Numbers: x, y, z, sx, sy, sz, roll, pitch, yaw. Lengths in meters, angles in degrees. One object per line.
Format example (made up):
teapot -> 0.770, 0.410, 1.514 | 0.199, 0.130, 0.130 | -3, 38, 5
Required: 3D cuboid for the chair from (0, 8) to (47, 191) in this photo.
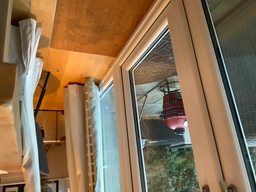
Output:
chair -> -0.760, 0.080, 1.120 | 0.570, 0.980, 0.480 | 3, 159, -25
